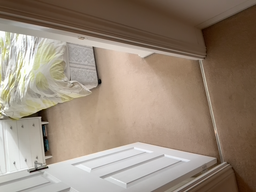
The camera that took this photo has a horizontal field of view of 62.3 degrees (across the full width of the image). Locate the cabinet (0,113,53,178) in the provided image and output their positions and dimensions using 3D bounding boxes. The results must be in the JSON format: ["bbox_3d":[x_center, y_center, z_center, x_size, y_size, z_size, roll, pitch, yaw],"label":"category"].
[{"bbox_3d":[-1.800,0.730,3.180,0.460,1.120,0.820,-15,80,45],"label":"cabinet"}]
